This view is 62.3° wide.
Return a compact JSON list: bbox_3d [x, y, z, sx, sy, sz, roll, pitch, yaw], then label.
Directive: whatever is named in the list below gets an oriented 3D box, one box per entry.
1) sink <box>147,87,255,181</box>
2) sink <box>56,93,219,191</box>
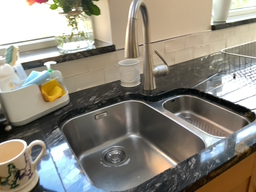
[{"bbox_3d":[0.270,0.110,0.820,0.220,0.140,0.360,-17,28,-25],"label":"sink"},{"bbox_3d":[0.000,0.200,0.750,0.360,0.200,0.450,-17,28,-25],"label":"sink"}]
